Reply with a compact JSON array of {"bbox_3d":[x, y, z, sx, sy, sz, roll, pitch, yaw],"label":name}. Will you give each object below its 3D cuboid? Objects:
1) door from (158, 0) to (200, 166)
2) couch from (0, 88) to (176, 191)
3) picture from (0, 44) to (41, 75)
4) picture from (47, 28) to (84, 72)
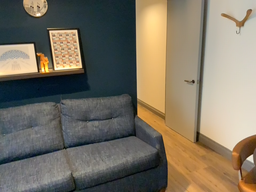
[{"bbox_3d":[0.710,-0.240,3.210,0.040,2.450,0.810,-7,16,-22],"label":"door"},{"bbox_3d":[-0.970,0.600,1.920,2.580,0.890,1.040,-7,16,-22],"label":"couch"},{"bbox_3d":[-1.120,-0.370,2.150,0.400,0.290,0.030,-7,16,-22],"label":"picture"},{"bbox_3d":[-0.670,-0.500,2.310,0.330,0.440,0.030,-11,21,-21],"label":"picture"}]
